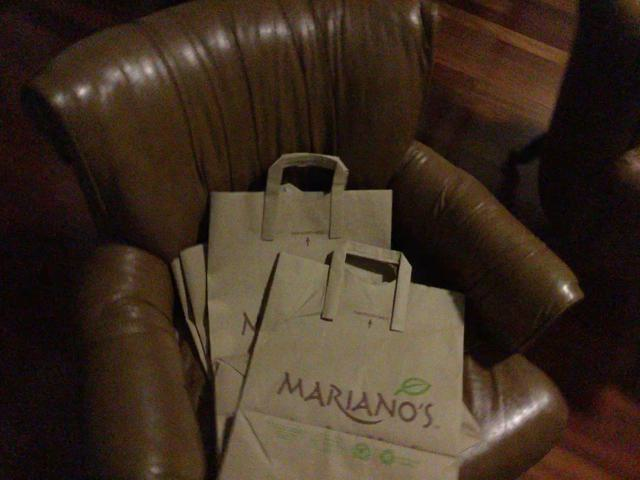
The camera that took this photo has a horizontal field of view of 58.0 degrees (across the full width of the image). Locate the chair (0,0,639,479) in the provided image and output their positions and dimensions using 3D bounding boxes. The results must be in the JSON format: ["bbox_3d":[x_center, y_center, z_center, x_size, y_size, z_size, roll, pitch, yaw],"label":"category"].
[{"bbox_3d":[-0.010,0.170,0.920,0.770,0.780,0.780,-14,61,-16],"label":"chair"}]
